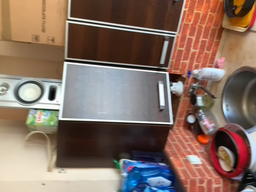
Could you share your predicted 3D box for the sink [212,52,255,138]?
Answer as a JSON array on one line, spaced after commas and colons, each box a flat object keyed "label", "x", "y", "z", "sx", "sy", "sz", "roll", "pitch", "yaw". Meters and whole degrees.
[{"label": "sink", "x": 0.810, "y": 0.020, "z": 1.400, "sx": 0.410, "sy": 0.220, "sz": 0.430, "roll": 122, "pitch": 150, "yaw": -63}]
